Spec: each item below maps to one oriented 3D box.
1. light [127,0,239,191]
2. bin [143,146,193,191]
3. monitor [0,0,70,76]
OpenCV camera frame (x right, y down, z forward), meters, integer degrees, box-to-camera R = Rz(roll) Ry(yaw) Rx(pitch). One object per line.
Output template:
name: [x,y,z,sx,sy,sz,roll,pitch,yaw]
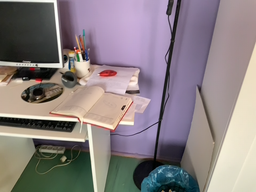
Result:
light: [0.200,-0.150,0.970,0.330,1.720,0.310,6,34,7]
bin: [0.210,0.550,1.200,0.240,0.310,0.370,8,34,9]
monitor: [-0.520,-0.280,1.050,0.390,0.360,0.030,-3,30,4]
